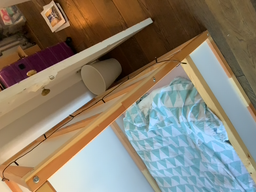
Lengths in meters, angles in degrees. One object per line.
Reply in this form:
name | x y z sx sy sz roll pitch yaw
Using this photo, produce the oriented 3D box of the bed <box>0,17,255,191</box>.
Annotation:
bed | 0.390 0.880 1.410 1.080 1.120 2.180 -23 103 52
